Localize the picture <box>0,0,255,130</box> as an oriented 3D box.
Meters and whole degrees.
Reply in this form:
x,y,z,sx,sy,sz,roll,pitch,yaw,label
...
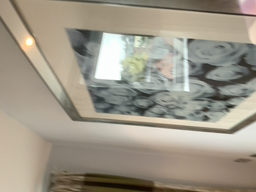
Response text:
x,y,z,sx,sy,sz,roll,pitch,yaw,label
0.190,-0.040,0.800,0.850,0.960,0.040,93,-177,-67,picture
